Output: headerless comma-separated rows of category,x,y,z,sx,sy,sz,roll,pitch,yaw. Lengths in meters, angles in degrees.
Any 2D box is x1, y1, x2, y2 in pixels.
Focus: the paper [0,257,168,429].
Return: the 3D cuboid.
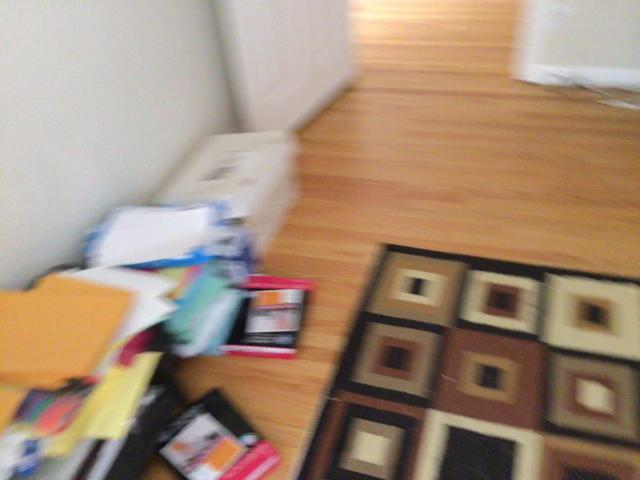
paper,-0.610,0.210,1.310,0.380,0.100,0.360,4,42,20
